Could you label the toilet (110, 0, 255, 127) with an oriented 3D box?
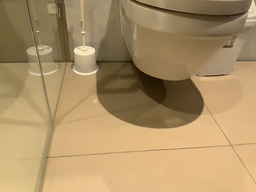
[{"bbox_3d":[0.150,-0.220,0.810,0.390,0.410,0.510,-2,38,-9],"label":"toilet"}]
